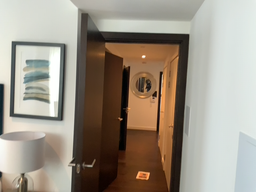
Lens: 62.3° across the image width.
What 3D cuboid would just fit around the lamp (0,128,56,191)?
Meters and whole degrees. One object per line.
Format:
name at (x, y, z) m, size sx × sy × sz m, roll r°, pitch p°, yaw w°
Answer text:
lamp at (-0.890, 0.610, 1.830) m, size 0.340 × 0.560 × 0.420 m, roll 3°, pitch 3°, yaw 5°
